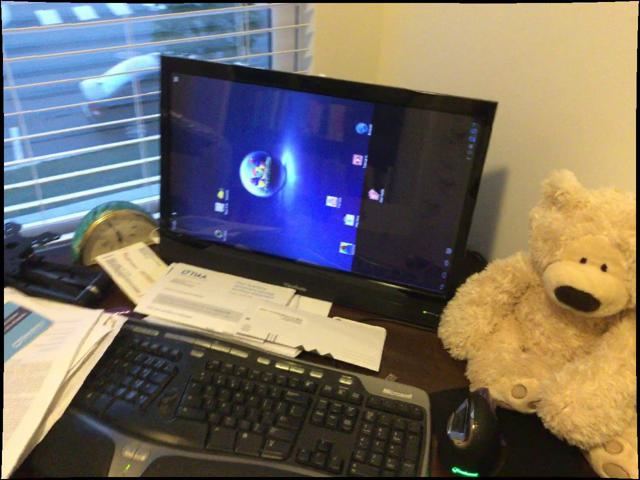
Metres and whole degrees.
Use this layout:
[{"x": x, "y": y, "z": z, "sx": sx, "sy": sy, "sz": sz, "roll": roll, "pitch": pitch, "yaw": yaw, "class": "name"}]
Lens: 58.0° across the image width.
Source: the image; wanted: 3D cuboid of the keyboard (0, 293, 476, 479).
[{"x": -0.080, "y": 0.231, "z": 0.730, "sx": 0.529, "sy": 0.060, "sz": 0.300, "roll": 8, "pitch": 38, "yaw": 10, "class": "keyboard"}]

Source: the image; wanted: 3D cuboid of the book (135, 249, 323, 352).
[{"x": -0.140, "y": 0.090, "z": 0.930, "sx": 0.259, "sy": 0.020, "sz": 0.160, "roll": 9, "pitch": 38, "yaw": 11, "class": "book"}]
